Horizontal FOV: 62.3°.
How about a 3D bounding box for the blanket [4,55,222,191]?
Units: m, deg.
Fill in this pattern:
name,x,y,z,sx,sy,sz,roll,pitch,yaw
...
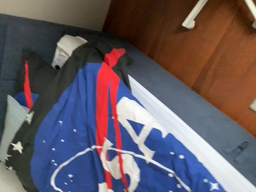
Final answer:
name,x,y,z,sx,sy,sz,roll,pitch,yaw
blanket,-0.160,0.480,0.840,0.930,0.280,0.900,47,124,32
